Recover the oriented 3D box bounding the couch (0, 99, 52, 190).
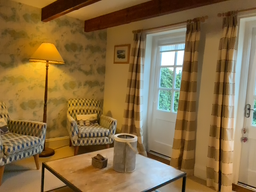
[{"bbox_3d":[-1.560,0.510,2.630,0.860,0.840,0.720,5,4,23],"label":"couch"}]

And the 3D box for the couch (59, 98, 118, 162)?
[{"bbox_3d":[-0.700,0.500,3.570,0.720,0.850,0.860,2,4,-28],"label":"couch"}]
